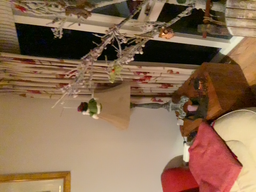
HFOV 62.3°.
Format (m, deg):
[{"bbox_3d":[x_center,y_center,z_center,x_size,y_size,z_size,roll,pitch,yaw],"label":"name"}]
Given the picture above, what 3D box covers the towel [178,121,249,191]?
[{"bbox_3d":[0.590,0.520,1.590,0.480,0.100,0.470,-120,36,-58],"label":"towel"}]
